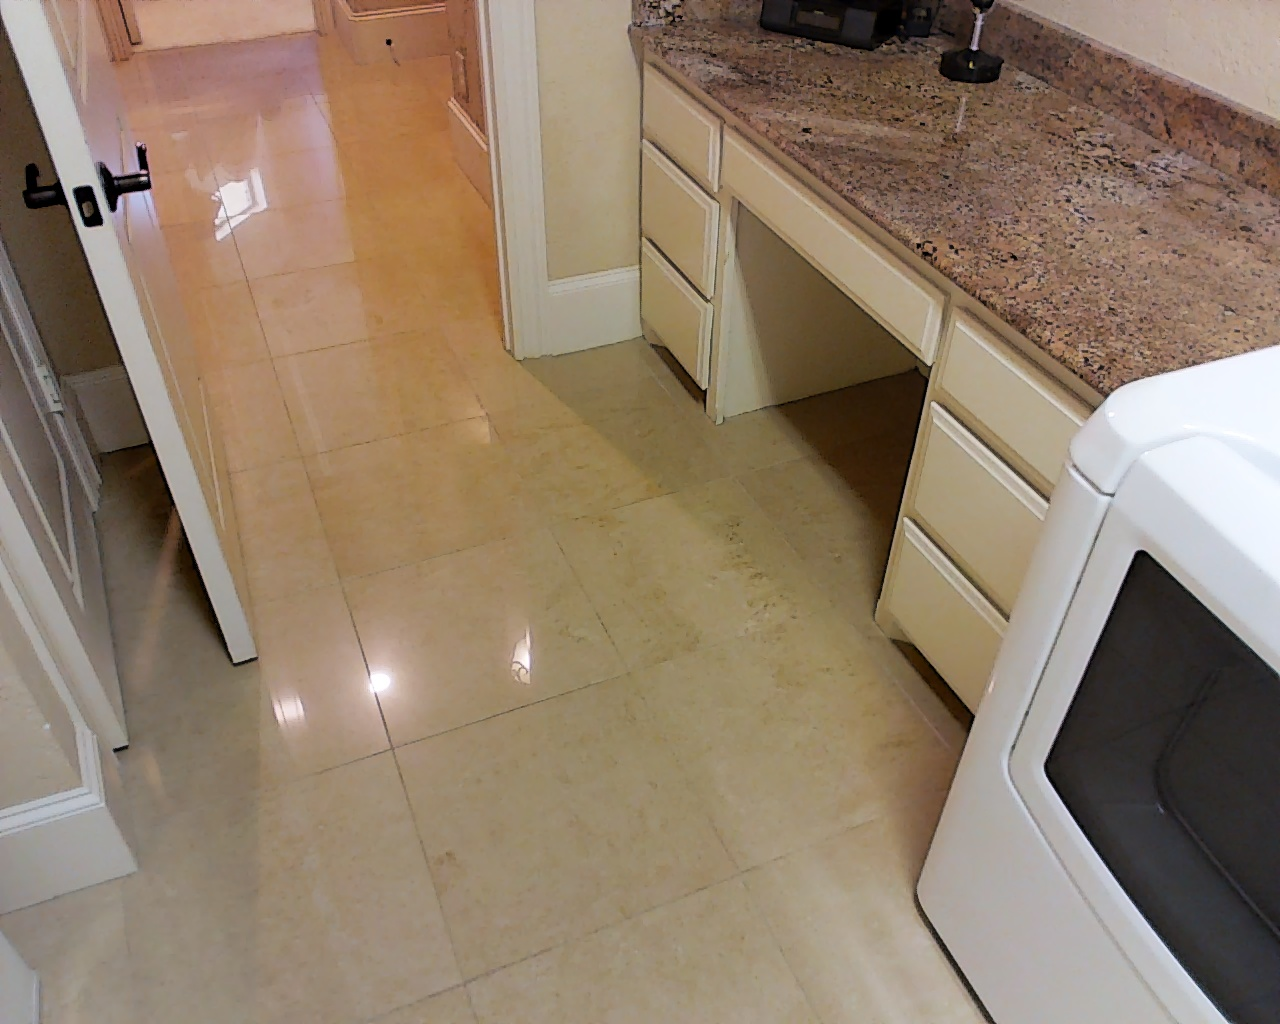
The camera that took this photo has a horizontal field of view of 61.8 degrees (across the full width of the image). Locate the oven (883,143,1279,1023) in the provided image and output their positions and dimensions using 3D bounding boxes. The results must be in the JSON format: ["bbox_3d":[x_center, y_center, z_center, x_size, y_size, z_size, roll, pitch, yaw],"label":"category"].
[{"bbox_3d":[0.910,0.300,1.170,0.800,1.210,0.760,-15,44,-17],"label":"oven"}]

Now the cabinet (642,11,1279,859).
[{"bbox_3d":[0.630,-0.310,2.170,0.680,0.820,1.620,-15,44,-17],"label":"cabinet"}]
